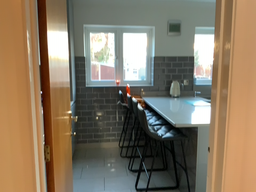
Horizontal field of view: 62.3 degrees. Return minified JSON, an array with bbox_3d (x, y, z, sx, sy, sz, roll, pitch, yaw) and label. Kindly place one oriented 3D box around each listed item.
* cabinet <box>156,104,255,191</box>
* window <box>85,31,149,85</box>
[{"bbox_3d":[0.810,0.660,2.570,0.640,0.930,1.120,-1,8,-7],"label":"cabinet"},{"bbox_3d":[-0.180,-0.660,3.760,1.100,0.910,0.090,-1,8,-7],"label":"window"}]
